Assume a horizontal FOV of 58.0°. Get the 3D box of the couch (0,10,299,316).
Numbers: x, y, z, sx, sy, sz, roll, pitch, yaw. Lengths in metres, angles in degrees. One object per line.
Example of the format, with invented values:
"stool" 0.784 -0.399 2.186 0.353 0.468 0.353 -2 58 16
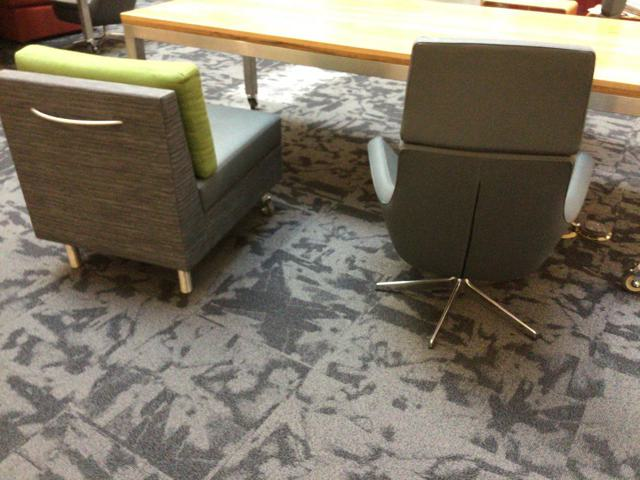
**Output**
"couch" -0.600 -0.360 2.250 0.760 0.810 0.830 12 35 18
